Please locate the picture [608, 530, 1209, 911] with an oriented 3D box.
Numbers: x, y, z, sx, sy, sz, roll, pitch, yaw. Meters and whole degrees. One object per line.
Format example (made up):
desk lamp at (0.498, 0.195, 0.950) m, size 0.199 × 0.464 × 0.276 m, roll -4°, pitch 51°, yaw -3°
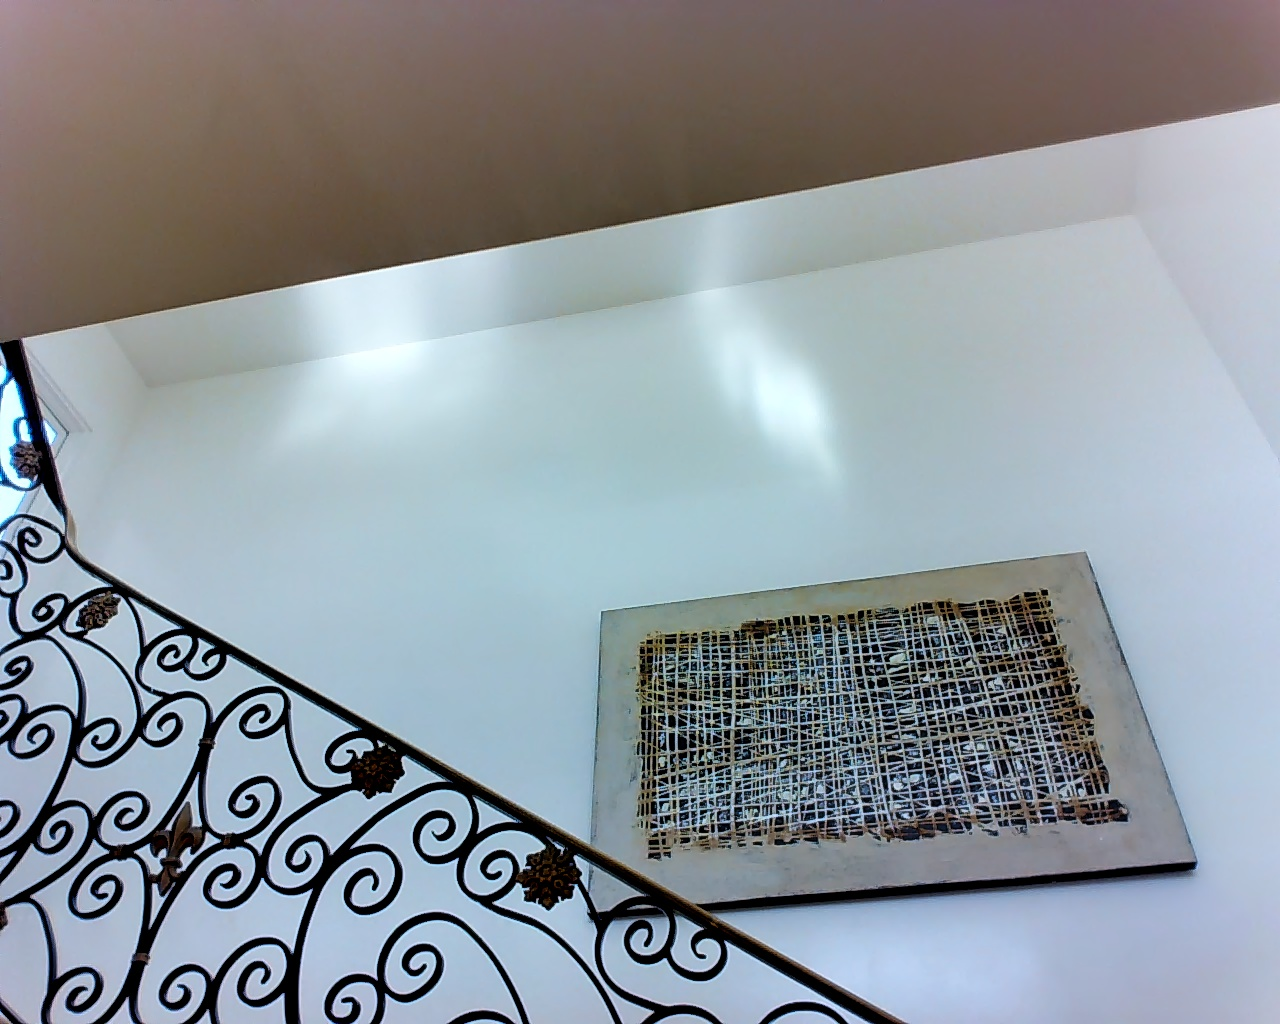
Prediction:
picture at (0.660, 0.570, 3.120) m, size 1.510 × 1.020 × 0.080 m, roll -9°, pitch -44°, yaw 9°
